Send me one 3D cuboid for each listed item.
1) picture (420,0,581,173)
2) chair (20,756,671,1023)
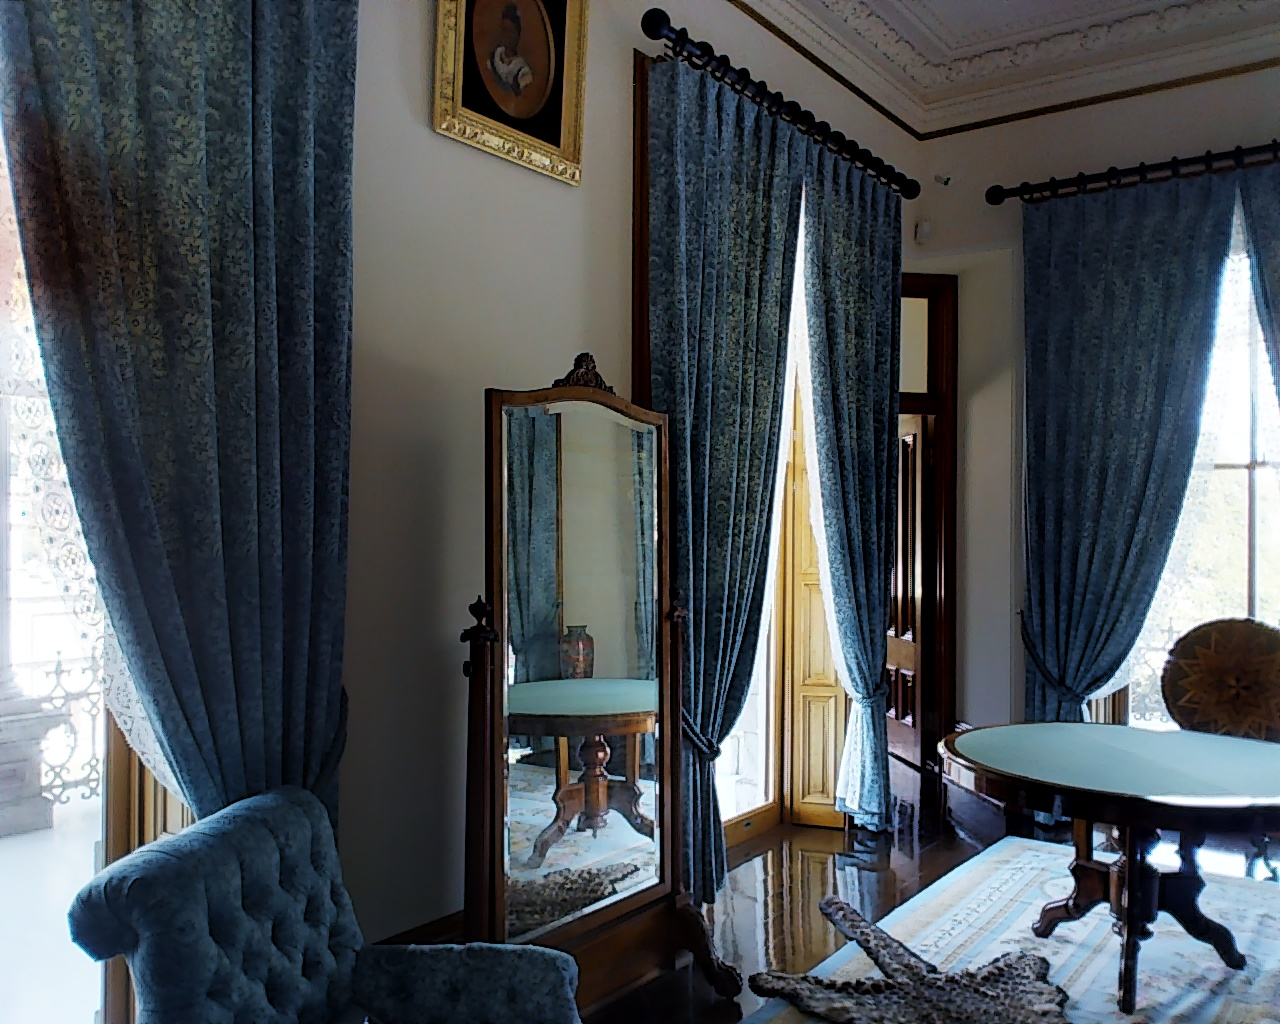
[{"bbox_3d":[-0.440,-1.600,3.540,0.070,0.780,0.670,1,0,37],"label":"picture"},{"bbox_3d":[-0.490,1.040,2.190,1.040,0.860,0.850,1,0,6],"label":"chair"}]
